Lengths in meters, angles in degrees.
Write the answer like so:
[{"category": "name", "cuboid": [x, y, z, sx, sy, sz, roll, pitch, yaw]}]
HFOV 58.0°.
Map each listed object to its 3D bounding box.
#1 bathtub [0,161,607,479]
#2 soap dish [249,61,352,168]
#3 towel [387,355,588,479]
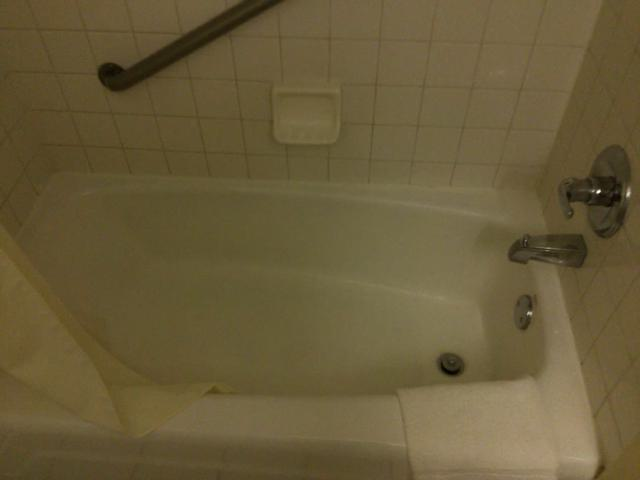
[{"category": "bathtub", "cuboid": [-0.110, 0.220, 1.430, 1.300, 0.360, 0.730, 4, 49, 3]}, {"category": "soap dish", "cuboid": [-0.040, -0.290, 1.360, 0.220, 0.230, 0.090, 3, 49, 2]}, {"category": "towel", "cuboid": [0.310, 0.400, 1.160, 0.330, 0.200, 0.250, 3, 49, 2]}]
